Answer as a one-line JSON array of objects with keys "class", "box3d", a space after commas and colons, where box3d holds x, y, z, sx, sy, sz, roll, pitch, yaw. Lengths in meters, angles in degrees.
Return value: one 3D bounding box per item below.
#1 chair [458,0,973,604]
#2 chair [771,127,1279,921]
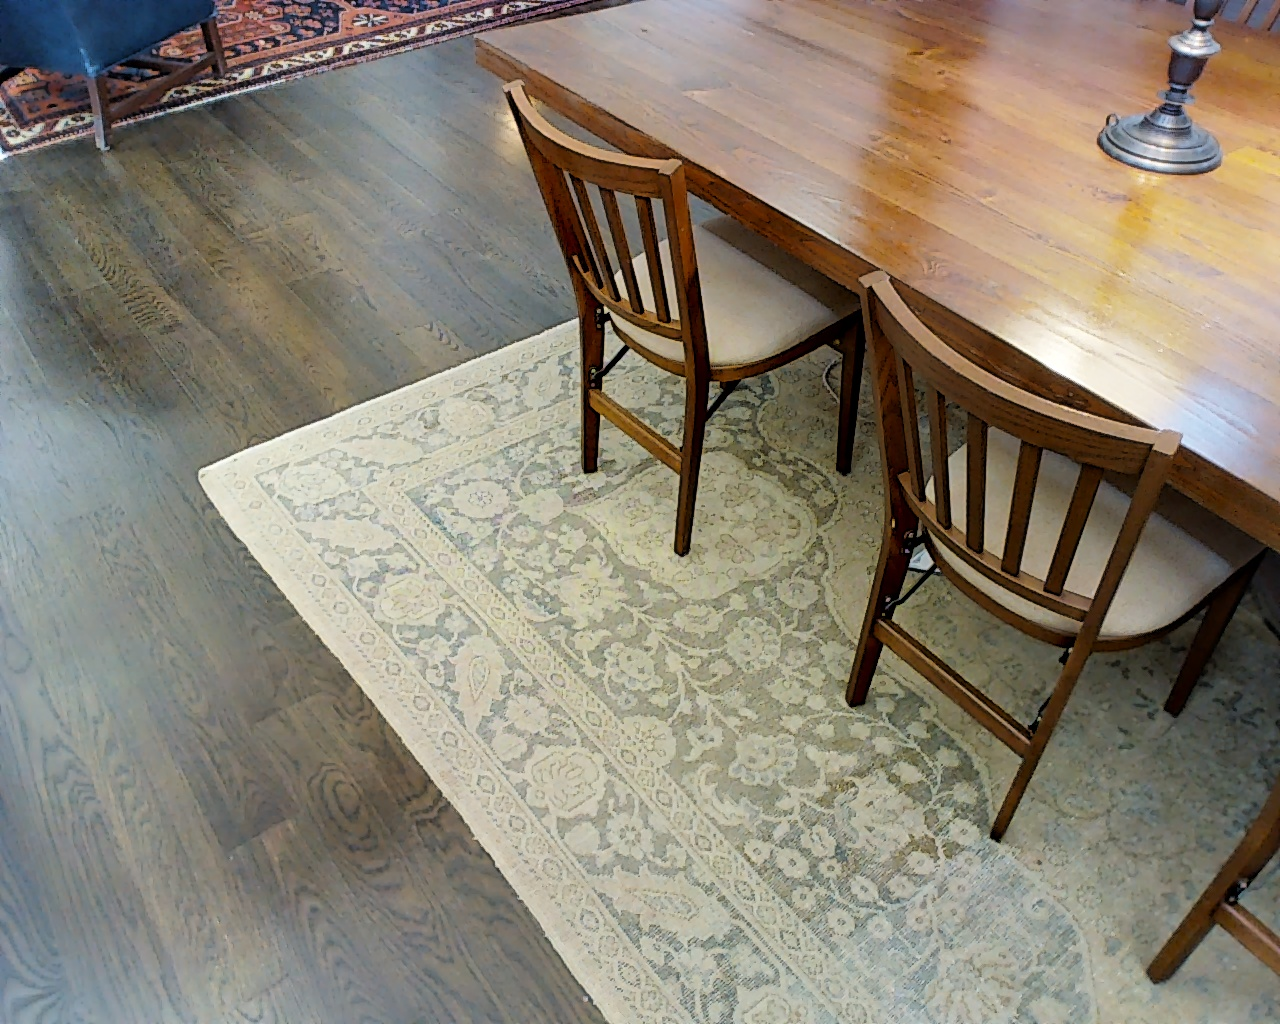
[{"class": "chair", "box3d": [0.120, -0.410, 2.050, 0.650, 0.830, 0.540, -27, 49, -26]}, {"class": "chair", "box3d": [0.630, 0.020, 1.570, 0.620, 0.860, 0.510, -27, 49, -26]}]
